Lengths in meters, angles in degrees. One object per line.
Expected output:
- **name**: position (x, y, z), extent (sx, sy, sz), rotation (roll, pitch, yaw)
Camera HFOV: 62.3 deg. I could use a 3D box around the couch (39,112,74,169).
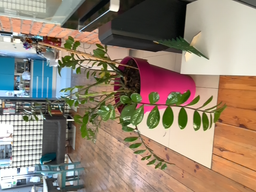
- **couch**: position (-1.850, 1.080, 5.450), extent (0.740, 0.710, 1.220), rotation (12, 100, 62)
